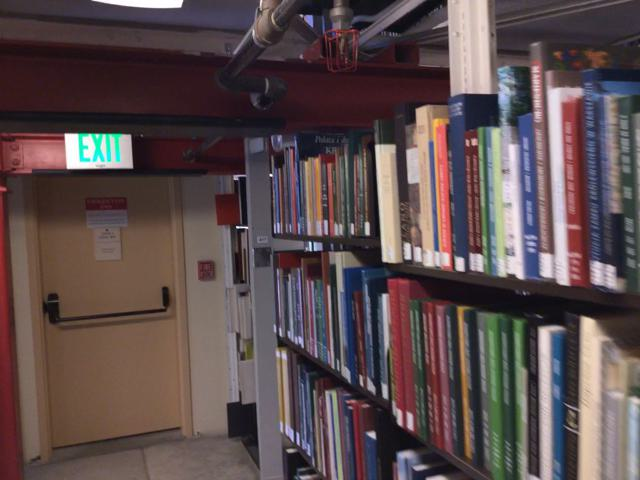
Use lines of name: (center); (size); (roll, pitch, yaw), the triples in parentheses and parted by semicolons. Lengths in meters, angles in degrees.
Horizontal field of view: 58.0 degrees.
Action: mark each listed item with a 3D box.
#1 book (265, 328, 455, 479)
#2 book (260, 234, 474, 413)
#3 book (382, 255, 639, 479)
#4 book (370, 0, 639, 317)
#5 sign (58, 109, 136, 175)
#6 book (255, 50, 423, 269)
book: (0.060, 0.540, 1.740); (0.210, 0.410, 0.870); (1, 0, -21)
book: (0.070, 0.180, 1.740); (0.260, 0.390, 0.920); (1, 0, -21)
book: (0.390, 0.230, 0.920); (0.220, 0.380, 0.820); (1, 0, -21)
book: (0.360, -0.120, 0.800); (0.120, 0.410, 1.050); (1, 0, -21)
sign: (-1.130, -0.490, 2.940); (0.360, 0.290, 0.160); (1, 4, -21)
book: (-0.010, -0.170, 1.670); (0.090, 0.450, 1.000); (1, 0, -21)
